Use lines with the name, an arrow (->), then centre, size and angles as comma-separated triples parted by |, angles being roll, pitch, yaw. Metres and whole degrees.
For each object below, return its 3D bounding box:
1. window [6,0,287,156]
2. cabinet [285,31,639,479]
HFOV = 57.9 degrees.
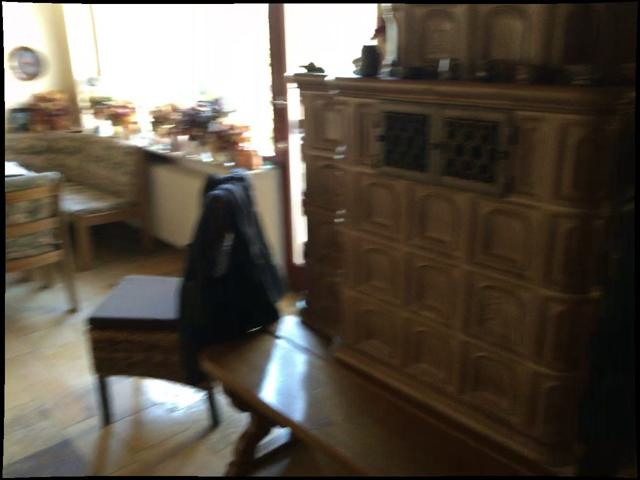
window -> -1.409, -1.401, 4.180 | 2.879, 1.111, 0.480 | 18, 26, 40
cabinet -> 0.589, -0.100, 1.900 | 0.990, 1.081, 1.000 | 19, 26, 41
